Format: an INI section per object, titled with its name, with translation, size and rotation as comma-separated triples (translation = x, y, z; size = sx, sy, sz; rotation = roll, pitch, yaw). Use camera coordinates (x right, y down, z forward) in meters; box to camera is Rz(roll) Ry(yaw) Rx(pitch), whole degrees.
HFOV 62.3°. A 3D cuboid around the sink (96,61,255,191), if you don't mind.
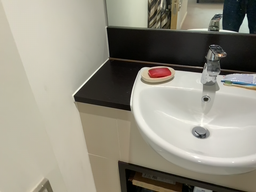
[sink]
translation = 0.240, 0.080, 0.730
size = 0.530, 0.160, 0.460
rotation = 10, 36, 17
